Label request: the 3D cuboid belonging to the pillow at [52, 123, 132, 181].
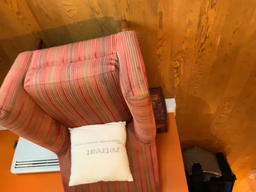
[{"bbox_3d":[-0.200,0.340,1.310,0.410,0.310,0.140,-4,131,11],"label":"pillow"}]
